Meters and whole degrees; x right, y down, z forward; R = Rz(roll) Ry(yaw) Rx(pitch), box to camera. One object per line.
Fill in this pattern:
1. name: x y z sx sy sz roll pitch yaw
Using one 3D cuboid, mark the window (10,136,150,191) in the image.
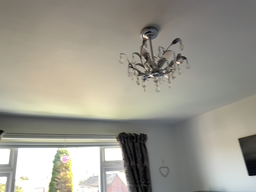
1. window: -0.590 1.290 3.000 1.900 1.410 0.220 5 -23 -24
